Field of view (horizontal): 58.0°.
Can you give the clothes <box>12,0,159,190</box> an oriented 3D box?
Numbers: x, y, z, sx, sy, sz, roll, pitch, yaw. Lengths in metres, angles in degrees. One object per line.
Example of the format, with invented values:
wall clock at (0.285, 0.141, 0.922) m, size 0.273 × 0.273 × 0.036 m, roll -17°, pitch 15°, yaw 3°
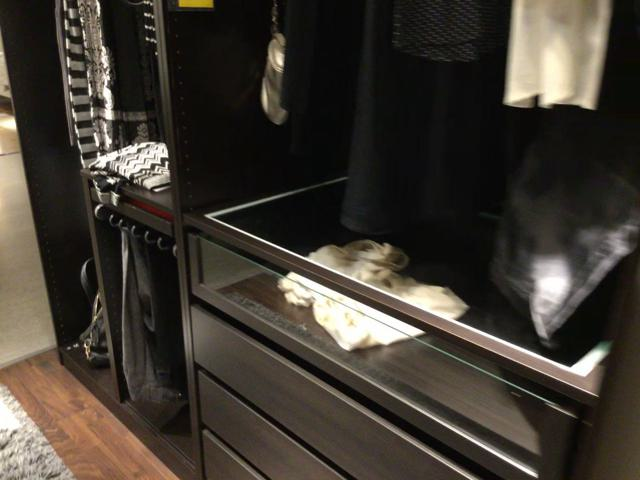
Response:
clothes at (-0.740, -0.780, 1.750) m, size 0.250 × 1.170 × 0.400 m, roll -17°, pitch 27°, yaw -41°
